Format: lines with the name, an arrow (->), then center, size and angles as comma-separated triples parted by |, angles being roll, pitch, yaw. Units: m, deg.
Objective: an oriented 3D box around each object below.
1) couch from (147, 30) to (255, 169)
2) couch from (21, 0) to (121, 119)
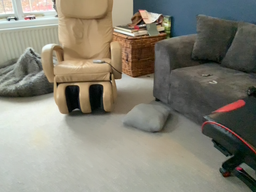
couch -> 1.110, -0.010, 1.690 | 0.900, 0.660, 1.980 | -16, 30, -28
couch -> -0.500, -0.550, 2.300 | 0.710, 1.120, 1.100 | -4, 27, -6
